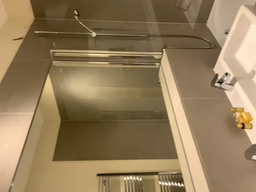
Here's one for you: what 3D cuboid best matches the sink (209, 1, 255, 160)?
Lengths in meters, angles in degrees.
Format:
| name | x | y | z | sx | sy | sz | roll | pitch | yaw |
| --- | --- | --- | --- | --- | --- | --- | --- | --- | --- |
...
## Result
| name | x | y | z | sx | sy | sz | roll | pitch | yaw |
| --- | --- | --- | --- | --- | --- | --- | --- | --- | --- |
| sink | 0.710 | -0.010 | 1.020 | 0.470 | 0.170 | 1.000 | 96 | 173 | -46 |
